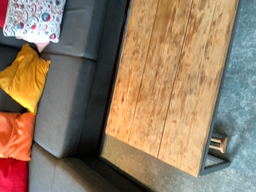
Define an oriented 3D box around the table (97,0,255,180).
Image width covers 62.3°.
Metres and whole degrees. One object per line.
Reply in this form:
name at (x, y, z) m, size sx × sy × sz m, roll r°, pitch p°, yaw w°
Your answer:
table at (0.280, -0.240, 1.190) m, size 0.650 × 0.370 × 1.110 m, roll 15°, pitch 94°, yaw 43°
